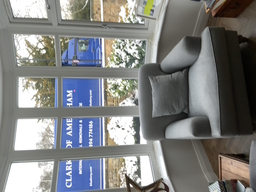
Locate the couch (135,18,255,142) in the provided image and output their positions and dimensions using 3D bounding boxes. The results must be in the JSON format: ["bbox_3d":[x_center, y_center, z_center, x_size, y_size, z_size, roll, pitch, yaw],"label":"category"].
[{"bbox_3d":[0.600,-0.050,2.190,0.790,1.150,0.930,-1,-99,-10],"label":"couch"}]

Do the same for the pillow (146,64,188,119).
[{"bbox_3d":[0.400,-0.030,2.250,0.090,0.440,0.540,10,-103,-52],"label":"pillow"}]
